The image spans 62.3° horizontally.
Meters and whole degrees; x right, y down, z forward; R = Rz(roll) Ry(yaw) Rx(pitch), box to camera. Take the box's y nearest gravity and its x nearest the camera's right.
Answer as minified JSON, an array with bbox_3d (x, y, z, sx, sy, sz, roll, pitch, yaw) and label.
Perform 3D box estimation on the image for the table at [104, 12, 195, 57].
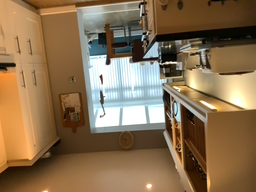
[{"bbox_3d":[0.500,-1.420,5.120,1.950,0.770,0.940,-4,-171,5],"label":"table"}]

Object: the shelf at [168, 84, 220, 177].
[{"bbox_3d":[0.680,0.330,2.260,0.400,0.850,0.470,-4,-171,4],"label":"shelf"}]
